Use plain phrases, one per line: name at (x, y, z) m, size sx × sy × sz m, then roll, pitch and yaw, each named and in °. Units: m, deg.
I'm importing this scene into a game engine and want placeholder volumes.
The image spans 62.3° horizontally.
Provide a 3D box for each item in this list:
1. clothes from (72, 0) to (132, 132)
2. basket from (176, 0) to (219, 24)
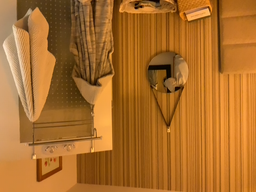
clothes at (-0.190, -0.500, 1.460) m, size 0.330 × 1.430 × 0.290 m, roll -1°, pitch -179°, yaw -26°
basket at (0.590, -0.790, 1.850) m, size 0.330 × 0.190 × 0.310 m, roll 0°, pitch 180°, yaw 14°
